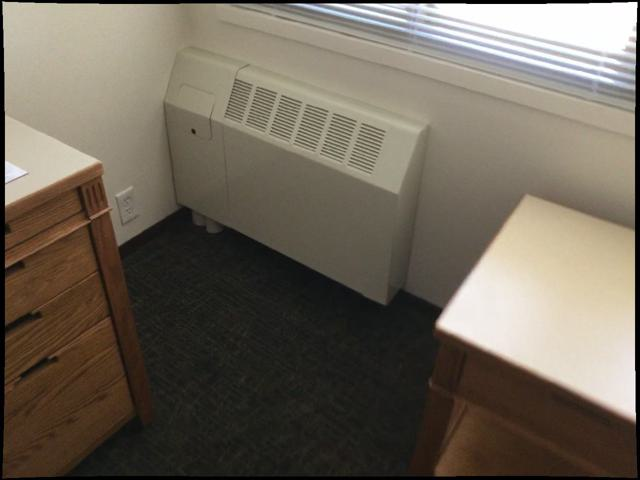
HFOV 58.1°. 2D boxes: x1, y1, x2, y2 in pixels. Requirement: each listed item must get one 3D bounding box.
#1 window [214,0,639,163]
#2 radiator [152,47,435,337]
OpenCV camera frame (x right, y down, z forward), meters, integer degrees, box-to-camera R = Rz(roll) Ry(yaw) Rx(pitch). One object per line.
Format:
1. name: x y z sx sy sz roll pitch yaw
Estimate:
1. window: 0.279 -0.551 1.400 1.328 0.351 0.190 25 43 28
2. radiator: -0.120 -0.170 1.830 0.889 0.641 0.180 25 43 28
